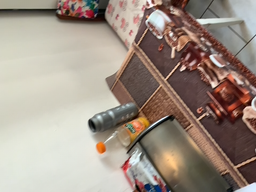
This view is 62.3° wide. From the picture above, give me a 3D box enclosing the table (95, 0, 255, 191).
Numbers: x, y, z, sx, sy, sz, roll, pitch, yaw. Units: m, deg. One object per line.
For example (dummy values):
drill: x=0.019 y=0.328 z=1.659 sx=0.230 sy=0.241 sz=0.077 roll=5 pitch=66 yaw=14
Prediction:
table: x=0.490 y=0.070 z=0.950 sx=0.990 sy=0.780 sz=0.440 roll=53 pitch=137 yaw=20
